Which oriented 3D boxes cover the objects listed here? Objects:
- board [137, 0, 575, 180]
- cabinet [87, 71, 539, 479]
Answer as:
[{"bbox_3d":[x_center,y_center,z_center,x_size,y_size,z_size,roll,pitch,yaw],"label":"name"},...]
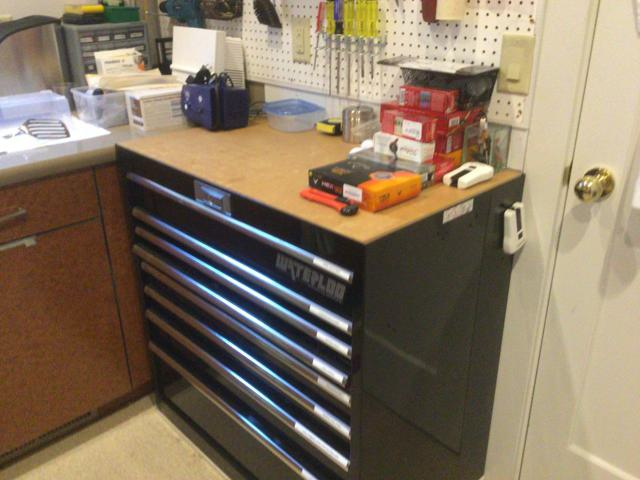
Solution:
[{"bbox_3d":[-0.080,-0.960,1.420,0.090,1.330,1.510,-22,32,-40],"label":"board"},{"bbox_3d":[-0.070,0.060,1.540,0.550,0.840,0.970,-22,32,-40],"label":"cabinet"}]
